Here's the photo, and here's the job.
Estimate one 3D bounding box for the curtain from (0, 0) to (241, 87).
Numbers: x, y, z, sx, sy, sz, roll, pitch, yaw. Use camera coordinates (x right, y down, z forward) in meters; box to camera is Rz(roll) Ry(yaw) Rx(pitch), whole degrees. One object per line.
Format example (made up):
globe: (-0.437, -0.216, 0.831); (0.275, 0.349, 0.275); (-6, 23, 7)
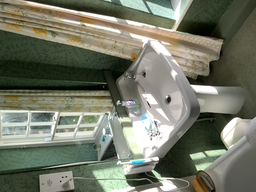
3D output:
curtain: (-0.030, -0.370, 1.490); (0.420, 1.870, 0.300); (-63, 37, 38)

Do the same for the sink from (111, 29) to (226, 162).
sink: (0.180, -0.020, 1.340); (0.450, 0.290, 0.670); (-62, 38, 39)
